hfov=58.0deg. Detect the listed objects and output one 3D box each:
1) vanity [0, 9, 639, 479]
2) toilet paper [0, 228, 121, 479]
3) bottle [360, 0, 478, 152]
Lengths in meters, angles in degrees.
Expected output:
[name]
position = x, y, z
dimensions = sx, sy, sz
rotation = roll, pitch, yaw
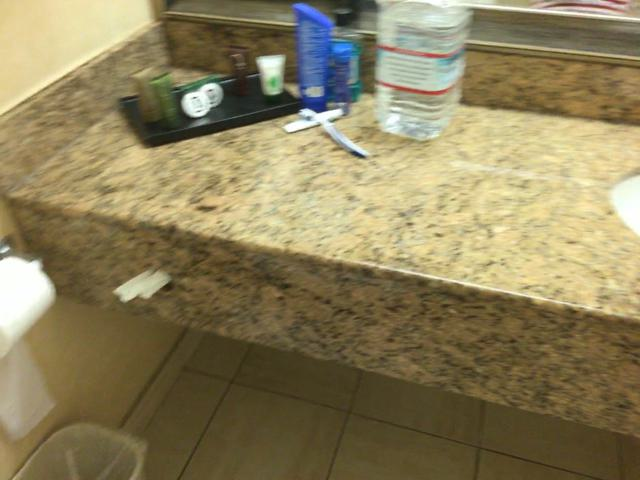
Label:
[vanity]
position = 0.290, -0.030, 0.970
dimensions = 1.500, 0.420, 0.600
rotation = 10, 37, 13
[toilet paper]
position = -0.470, 0.200, 0.960
dimensions = 0.120, 0.400, 0.170
rotation = 10, 37, 13
[bottle]
position = 0.180, -0.320, 1.040
dimensions = 0.160, 0.230, 0.210
rotation = 10, 37, 13
